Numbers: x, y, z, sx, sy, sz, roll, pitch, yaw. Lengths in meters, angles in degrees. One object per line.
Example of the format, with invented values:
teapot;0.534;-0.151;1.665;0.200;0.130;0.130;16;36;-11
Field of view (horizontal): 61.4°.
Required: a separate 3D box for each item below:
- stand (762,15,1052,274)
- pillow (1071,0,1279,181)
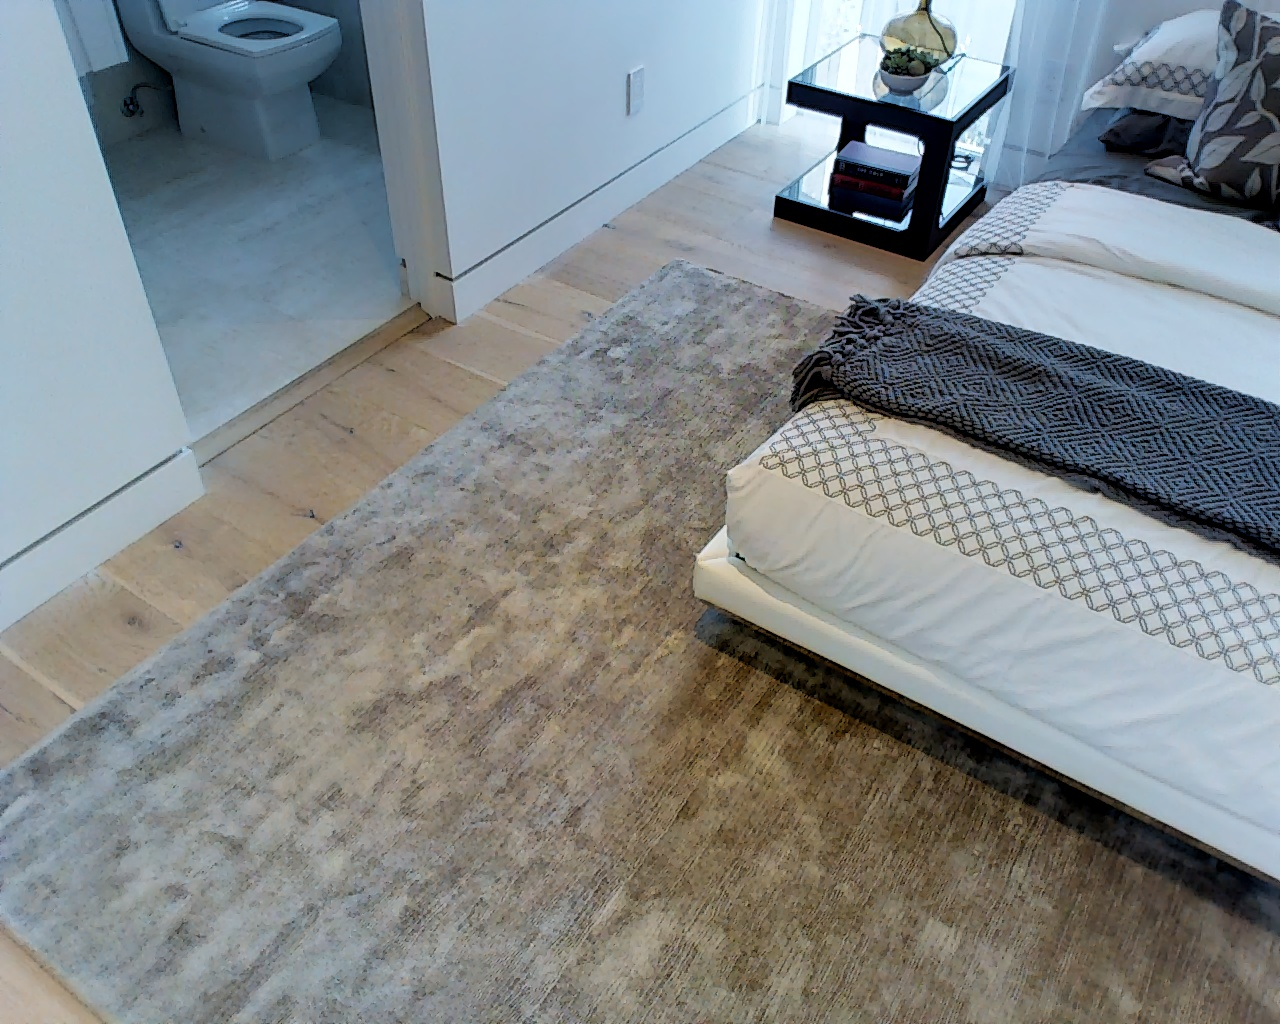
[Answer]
stand;0.820;-1.160;3.340;0.590;0.450;0.660;25;47;24
pillow;1.570;-1.040;2.610;0.840;0.280;0.450;24;49;24
